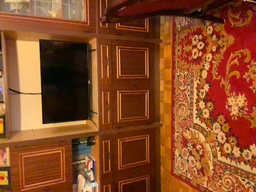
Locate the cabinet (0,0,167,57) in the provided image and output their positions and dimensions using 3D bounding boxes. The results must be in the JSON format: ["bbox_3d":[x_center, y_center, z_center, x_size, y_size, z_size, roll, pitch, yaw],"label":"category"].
[{"bbox_3d":[-0.730,-0.930,1.850,0.500,2.280,0.990,6,97,62],"label":"cabinet"}]
